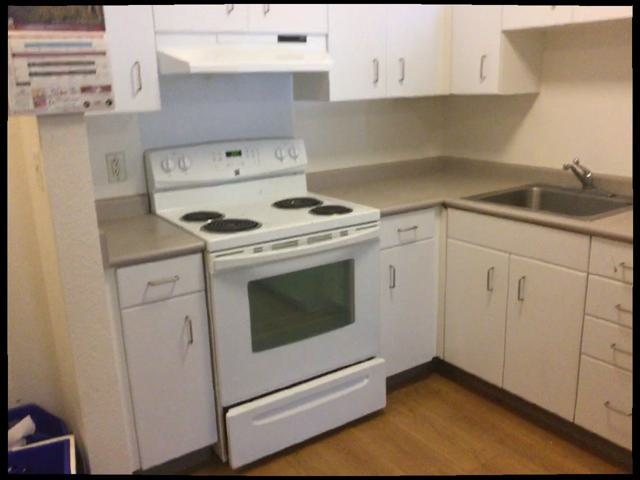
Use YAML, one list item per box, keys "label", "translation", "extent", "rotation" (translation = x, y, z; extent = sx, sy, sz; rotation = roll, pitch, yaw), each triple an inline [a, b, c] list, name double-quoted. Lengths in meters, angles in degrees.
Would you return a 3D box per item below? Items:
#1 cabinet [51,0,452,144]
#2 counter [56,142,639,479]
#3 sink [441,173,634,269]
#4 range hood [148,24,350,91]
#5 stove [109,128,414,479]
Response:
- label: "cabinet"
  translation: [-0.180, -1.102, 2.440]
  extent: [1.748, 1.142, 0.370]
  rotation: [-15, 21, -33]
- label: "counter"
  translation: [0.309, -0.090, 2.230]
  extent: [2.088, 0.170, 1.839]
  rotation: [-15, 21, -33]
- label: "sink"
  translation: [0.928, -0.110, 2.520]
  extent: [0.499, 0.210, 0.600]
  rotation: [-15, 21, -33]
- label: "range hood"
  translation: [-0.260, -0.741, 2.320]
  extent: [0.769, 0.220, 0.240]
  rotation: [-15, 21, -33]
- label: "stove"
  translation: [-0.230, 0.180, 2.530]
  extent: [0.959, 1.172, 0.820]
  rotation: [-15, 21, -33]
